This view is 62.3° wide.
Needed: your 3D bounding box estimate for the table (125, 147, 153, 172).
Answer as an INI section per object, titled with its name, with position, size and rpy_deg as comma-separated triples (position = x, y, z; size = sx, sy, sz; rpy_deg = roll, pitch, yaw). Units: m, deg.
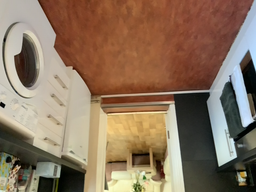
[table]
position = 0.260, 1.490, 4.980
size = 0.570, 0.480, 0.400
rpy_deg = -6, 154, 11
